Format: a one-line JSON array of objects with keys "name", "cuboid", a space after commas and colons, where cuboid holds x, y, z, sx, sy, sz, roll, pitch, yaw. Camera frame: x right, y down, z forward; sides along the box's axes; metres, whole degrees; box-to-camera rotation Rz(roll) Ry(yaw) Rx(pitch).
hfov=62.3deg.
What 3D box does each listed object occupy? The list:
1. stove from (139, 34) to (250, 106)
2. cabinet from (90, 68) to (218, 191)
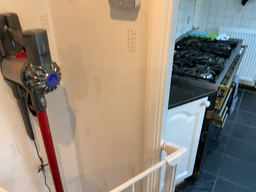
[{"name": "stove", "cuboid": [0.650, -0.320, 1.890, 0.630, 0.160, 1.100, 18, 34, 28]}, {"name": "cabinet", "cuboid": [0.180, 0.370, 1.510, 0.580, 0.900, 0.560, 18, 34, 28]}]
